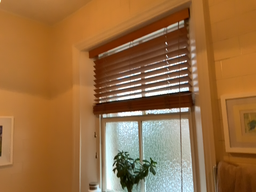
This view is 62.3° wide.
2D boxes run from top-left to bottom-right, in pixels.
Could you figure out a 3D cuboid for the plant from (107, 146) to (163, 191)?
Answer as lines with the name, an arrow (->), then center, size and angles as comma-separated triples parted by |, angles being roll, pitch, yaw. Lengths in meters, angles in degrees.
plant -> 0.040, 0.550, 1.430 | 0.340, 0.390, 0.160 | -9, -10, 41
